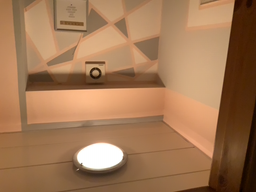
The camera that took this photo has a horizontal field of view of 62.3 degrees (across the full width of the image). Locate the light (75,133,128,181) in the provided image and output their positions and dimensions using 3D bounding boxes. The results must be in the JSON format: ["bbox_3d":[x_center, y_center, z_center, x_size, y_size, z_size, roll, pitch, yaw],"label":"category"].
[{"bbox_3d":[-0.160,0.330,1.180,0.240,0.270,0.080,23,96,-21],"label":"light"}]
